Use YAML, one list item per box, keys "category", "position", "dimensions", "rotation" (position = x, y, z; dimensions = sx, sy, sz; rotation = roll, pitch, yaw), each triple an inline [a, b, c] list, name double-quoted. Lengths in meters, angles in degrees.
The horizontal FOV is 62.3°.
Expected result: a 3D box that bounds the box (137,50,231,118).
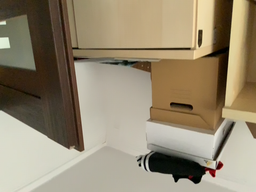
- category: "box"
  position: [0.220, -0.070, 0.820]
  dimensions: [0.280, 0.190, 0.250]
  rotation: [8, -161, 30]
